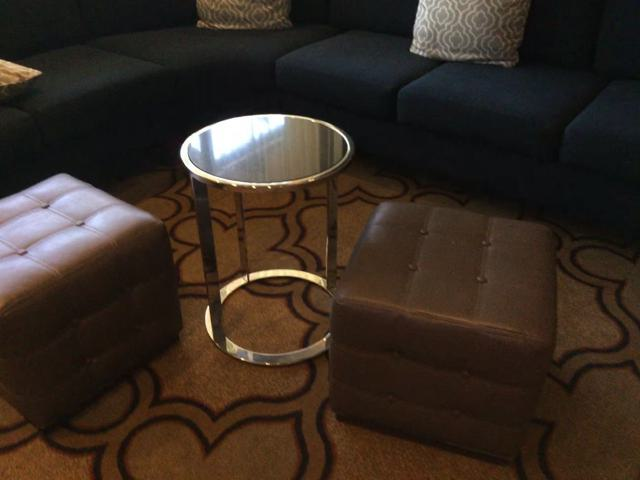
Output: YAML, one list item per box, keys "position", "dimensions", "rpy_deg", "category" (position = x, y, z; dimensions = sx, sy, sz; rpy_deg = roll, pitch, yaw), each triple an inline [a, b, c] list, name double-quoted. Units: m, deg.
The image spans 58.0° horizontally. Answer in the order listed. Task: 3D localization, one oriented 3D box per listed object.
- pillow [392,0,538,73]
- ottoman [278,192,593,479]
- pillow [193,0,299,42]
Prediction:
- position: [0.610, -1.000, 2.450]
  dimensions: [0.530, 0.440, 0.260]
  rpy_deg: [21, 38, 31]
  category: "pillow"
- position: [0.280, 0.240, 1.460]
  dimensions: [0.590, 0.450, 0.600]
  rpy_deg: [6, 33, 13]
  category: "ottoman"
- position: [-0.380, -1.290, 2.870]
  dimensions: [0.480, 0.430, 0.320]
  rpy_deg: [-8, 40, 1]
  category: "pillow"
